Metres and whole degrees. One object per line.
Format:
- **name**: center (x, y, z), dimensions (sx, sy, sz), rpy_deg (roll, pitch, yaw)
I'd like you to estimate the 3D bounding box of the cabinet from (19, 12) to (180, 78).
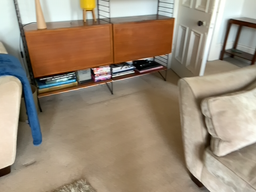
- **cabinet**: center (-0.220, -0.610, 2.280), dimensions (1.610, 0.440, 0.400), rpy_deg (-14, 34, -27)
